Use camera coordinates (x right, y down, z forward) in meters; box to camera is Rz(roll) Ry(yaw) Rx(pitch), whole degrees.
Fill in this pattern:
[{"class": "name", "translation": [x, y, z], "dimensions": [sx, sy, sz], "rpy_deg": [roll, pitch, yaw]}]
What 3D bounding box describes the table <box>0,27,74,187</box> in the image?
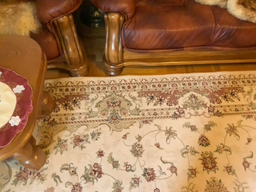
[{"class": "table", "translation": [-0.810, 0.090, 1.090], "dimensions": [0.860, 0.580, 0.630], "rpy_deg": [1, 60, -1]}]
